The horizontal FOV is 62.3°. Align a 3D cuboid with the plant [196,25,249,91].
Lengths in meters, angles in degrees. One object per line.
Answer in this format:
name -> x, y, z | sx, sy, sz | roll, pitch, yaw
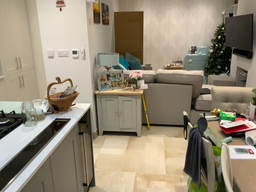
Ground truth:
plant -> 2.500, -1.080, 5.800 | 0.730, 1.610, 1.010 | -4, 18, -11
